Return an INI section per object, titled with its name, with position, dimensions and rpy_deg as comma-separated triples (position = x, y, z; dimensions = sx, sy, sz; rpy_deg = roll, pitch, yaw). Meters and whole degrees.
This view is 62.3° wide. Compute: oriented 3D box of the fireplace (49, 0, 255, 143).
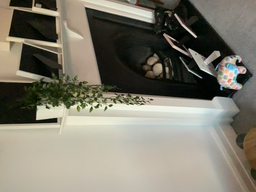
[fireplace]
position = 0.030, -0.460, 1.810
dimensions = 0.690, 1.250, 1.510
rpy_deg = 120, 145, -43
